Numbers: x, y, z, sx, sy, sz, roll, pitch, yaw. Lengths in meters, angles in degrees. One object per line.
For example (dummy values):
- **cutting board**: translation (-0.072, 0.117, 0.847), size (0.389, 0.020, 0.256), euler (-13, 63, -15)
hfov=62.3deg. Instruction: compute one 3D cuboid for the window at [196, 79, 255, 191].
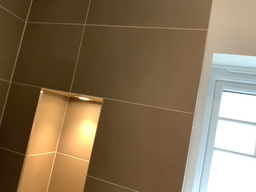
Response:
- **window**: translation (0.650, 0.300, 1.050), size (0.520, 0.720, 0.060), euler (9, -6, 22)
